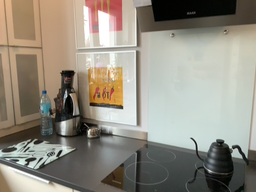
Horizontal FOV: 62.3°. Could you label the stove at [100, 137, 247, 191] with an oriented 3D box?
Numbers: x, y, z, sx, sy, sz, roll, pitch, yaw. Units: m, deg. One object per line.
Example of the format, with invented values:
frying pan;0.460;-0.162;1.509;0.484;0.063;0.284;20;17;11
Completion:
stove;0.260;0.350;1.060;0.580;0.010;0.560;5;11;28
